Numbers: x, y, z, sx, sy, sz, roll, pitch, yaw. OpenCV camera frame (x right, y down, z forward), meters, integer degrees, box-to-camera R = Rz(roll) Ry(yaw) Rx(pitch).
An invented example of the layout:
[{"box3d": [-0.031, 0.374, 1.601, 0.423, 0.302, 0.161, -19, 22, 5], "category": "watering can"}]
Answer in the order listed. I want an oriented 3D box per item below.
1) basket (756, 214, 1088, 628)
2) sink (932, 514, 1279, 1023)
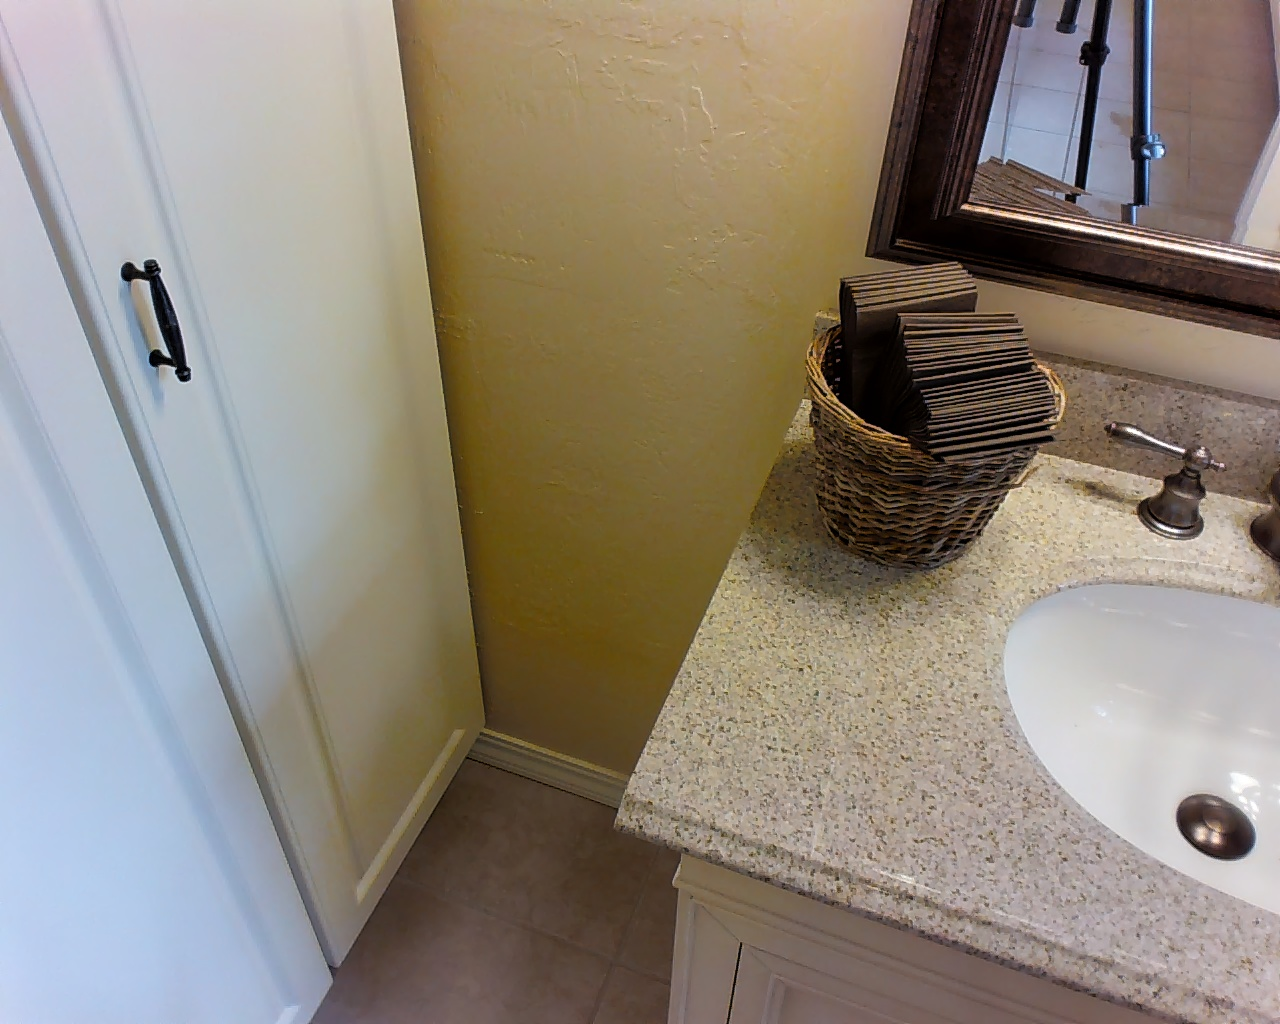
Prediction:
[{"box3d": [0.250, -0.090, 0.960, 0.210, 0.220, 0.260, 15, 43, 15], "category": "basket"}, {"box3d": [0.530, 0.230, 0.920, 0.470, 0.200, 0.310, 14, 44, 14], "category": "sink"}]
